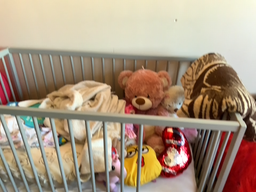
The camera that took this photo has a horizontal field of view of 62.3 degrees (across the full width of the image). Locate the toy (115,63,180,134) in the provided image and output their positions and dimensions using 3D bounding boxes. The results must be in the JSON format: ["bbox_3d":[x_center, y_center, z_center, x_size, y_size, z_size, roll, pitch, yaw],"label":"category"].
[{"bbox_3d":[0.110,0.010,1.310,0.340,0.330,0.260,3,32,4],"label":"toy"}]

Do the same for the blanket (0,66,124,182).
[{"bbox_3d":[-0.390,0.110,1.240,0.660,0.310,0.600,4,32,5],"label":"blanket"}]
